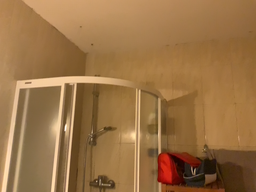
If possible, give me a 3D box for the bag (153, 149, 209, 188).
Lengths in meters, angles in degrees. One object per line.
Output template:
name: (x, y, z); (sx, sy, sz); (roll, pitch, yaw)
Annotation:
bag: (0.400, 0.510, 1.570); (0.340, 0.210, 0.500); (-3, -14, 17)
